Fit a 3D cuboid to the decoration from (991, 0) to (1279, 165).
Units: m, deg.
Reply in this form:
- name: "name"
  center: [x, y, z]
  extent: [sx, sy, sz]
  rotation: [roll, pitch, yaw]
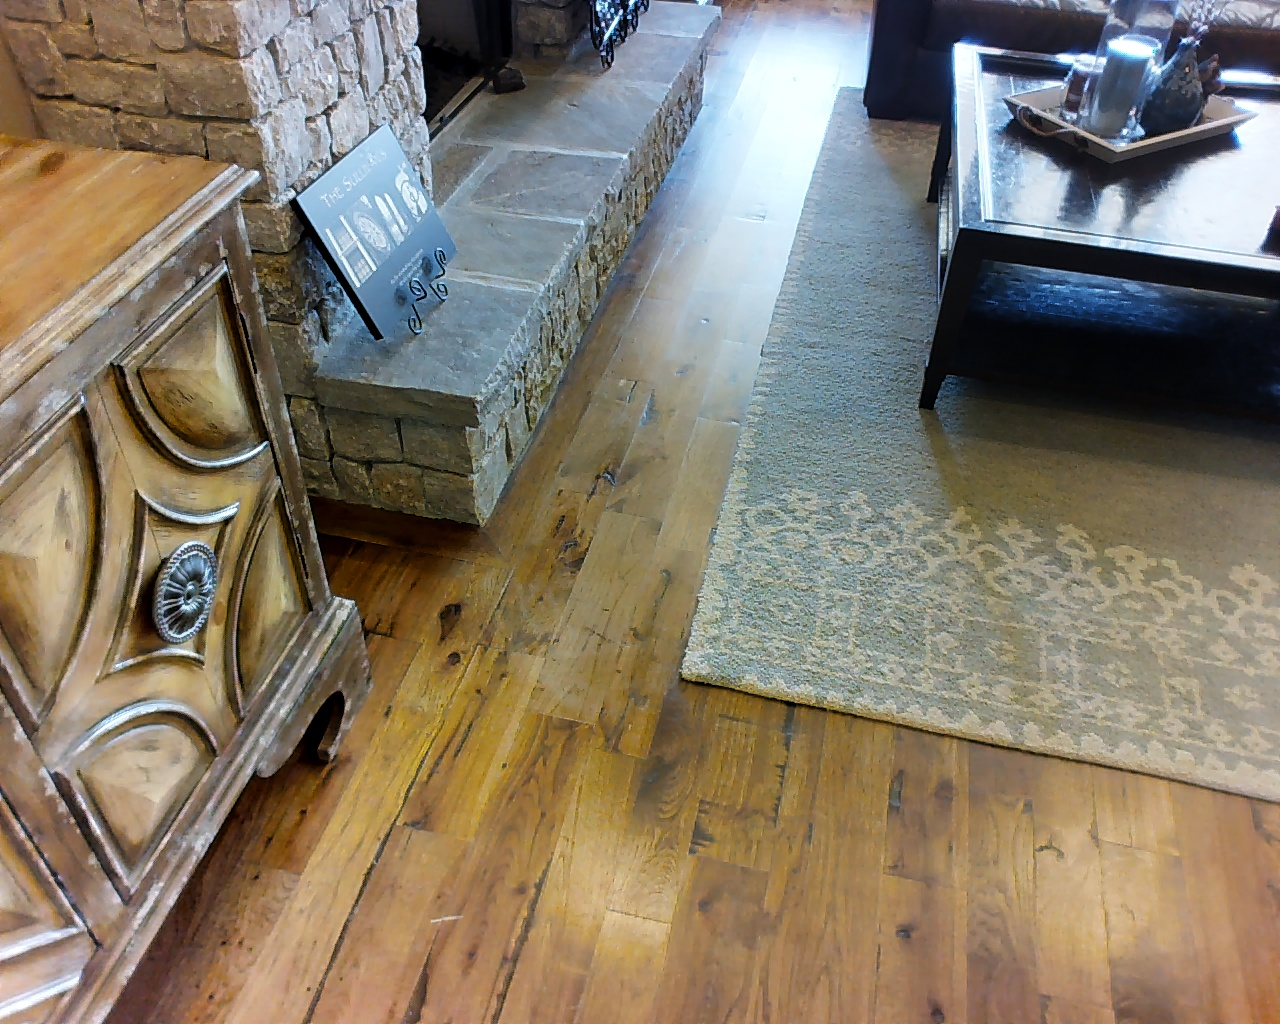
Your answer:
- name: "decoration"
  center: [1.290, -1.210, 2.660]
  extent: [0.600, 0.440, 0.410]
  rotation: [-21, 47, -24]
